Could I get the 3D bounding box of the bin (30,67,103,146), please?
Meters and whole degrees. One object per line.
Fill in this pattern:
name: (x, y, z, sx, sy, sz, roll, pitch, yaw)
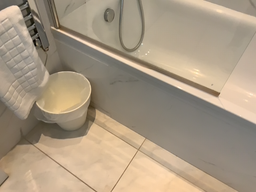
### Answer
bin: (-0.330, 0.060, 1.210, 0.240, 0.280, 0.260, 32, 57, 20)
